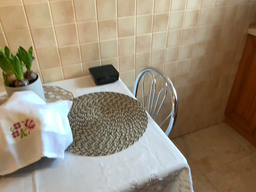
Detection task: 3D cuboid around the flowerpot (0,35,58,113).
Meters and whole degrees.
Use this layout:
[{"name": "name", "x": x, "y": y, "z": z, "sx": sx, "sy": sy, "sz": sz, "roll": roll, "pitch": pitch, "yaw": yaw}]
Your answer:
[{"name": "flowerpot", "x": -0.450, "y": -0.100, "z": 0.900, "sx": 0.230, "sy": 0.240, "sz": 0.170, "roll": -13, "pitch": 37, "yaw": -18}]
